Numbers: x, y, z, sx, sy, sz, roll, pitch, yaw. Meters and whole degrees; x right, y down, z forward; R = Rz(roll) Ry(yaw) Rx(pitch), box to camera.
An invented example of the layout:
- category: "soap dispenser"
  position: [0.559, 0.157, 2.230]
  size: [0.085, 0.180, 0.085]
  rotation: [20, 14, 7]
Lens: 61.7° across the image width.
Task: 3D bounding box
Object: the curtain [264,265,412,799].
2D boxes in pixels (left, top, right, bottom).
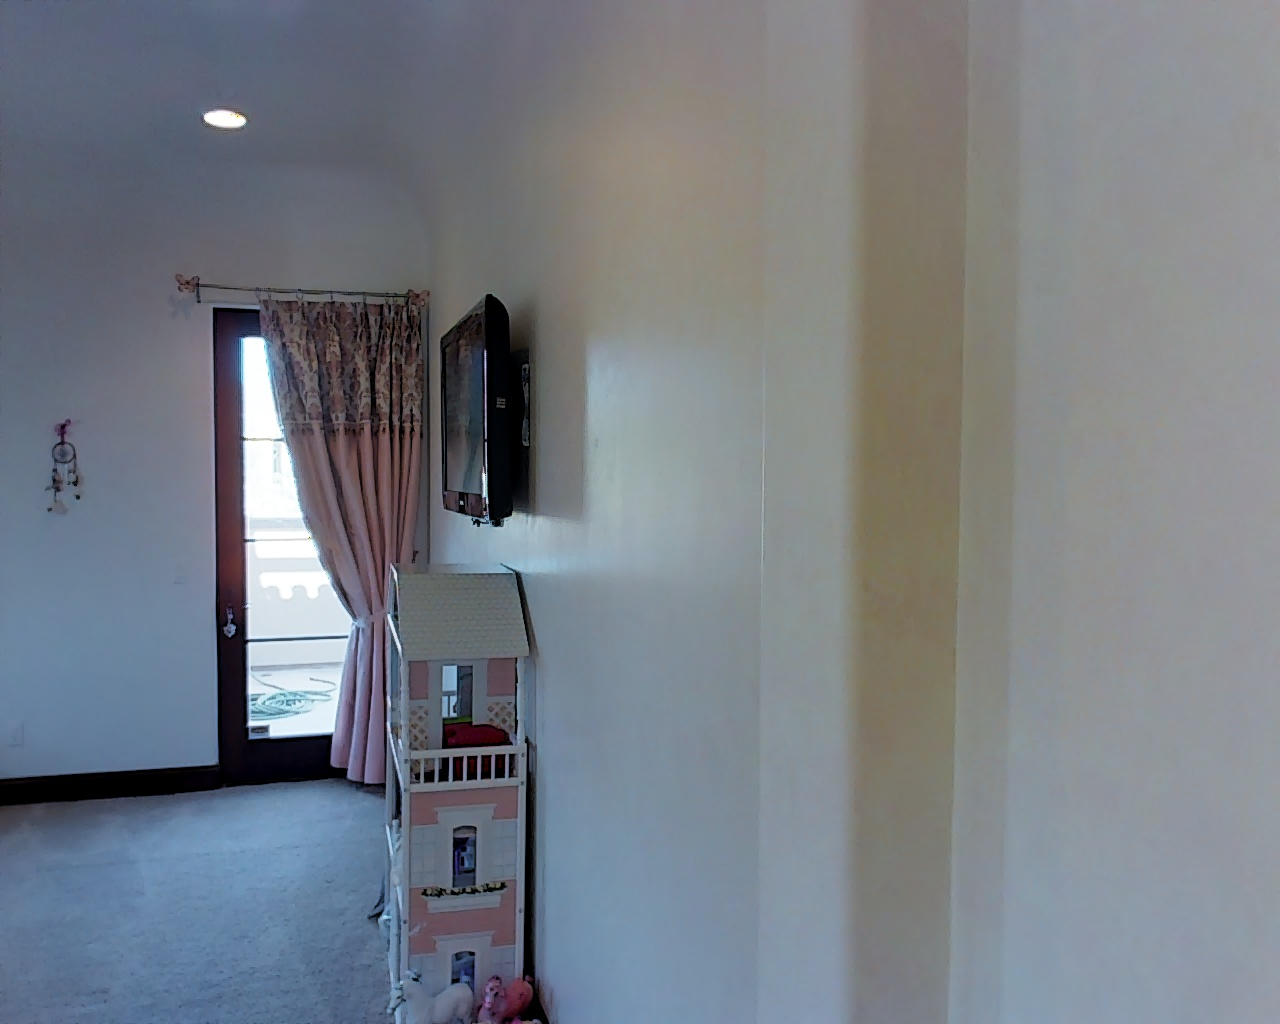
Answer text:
- category: "curtain"
  position: [-1.460, 0.100, 5.200]
  size: [0.660, 2.490, 0.250]
  rotation: [0, 2, -17]

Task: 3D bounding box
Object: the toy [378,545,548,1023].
- category: "toy"
  position: [-0.580, 0.790, 3.310]
  size: [0.380, 1.300, 1.010]
  rotation: [0, 2, -17]
